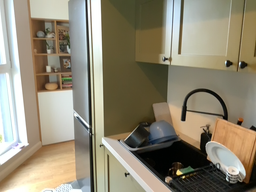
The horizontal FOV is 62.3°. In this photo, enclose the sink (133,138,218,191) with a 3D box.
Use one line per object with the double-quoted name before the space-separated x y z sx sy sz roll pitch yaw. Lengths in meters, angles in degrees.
"sink" 0.300 0.480 1.370 0.450 0.250 0.270 -6 14 -27
